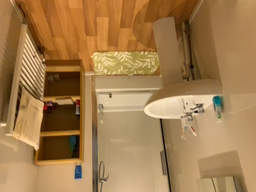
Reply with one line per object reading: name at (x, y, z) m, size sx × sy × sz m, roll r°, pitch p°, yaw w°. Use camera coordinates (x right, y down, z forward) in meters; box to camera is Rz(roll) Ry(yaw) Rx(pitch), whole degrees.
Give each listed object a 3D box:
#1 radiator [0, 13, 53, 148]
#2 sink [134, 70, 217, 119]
radiator at (-0.780, -0.070, 1.680) m, size 0.160 × 0.850 × 0.690 m, roll -2°, pitch 159°, yaw -6°
sink at (0.310, 0.010, 1.600) m, size 0.440 × 0.170 × 0.540 m, roll -1°, pitch 159°, yaw -8°
